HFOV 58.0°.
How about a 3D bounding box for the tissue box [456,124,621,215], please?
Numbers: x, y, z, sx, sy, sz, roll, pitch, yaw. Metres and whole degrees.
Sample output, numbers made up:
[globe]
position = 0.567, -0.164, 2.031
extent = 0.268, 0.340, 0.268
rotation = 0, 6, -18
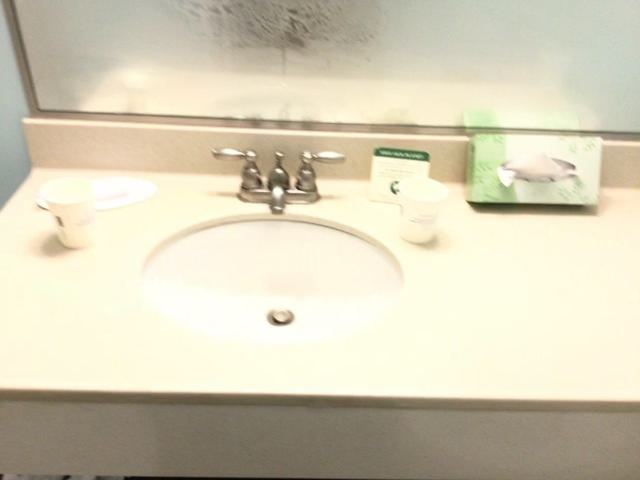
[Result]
[tissue box]
position = 0.390, -0.130, 1.060
extent = 0.240, 0.120, 0.110
rotation = 2, 34, -2

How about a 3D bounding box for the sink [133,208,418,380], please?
[sink]
position = -0.070, 0.090, 0.990
extent = 0.420, 0.200, 0.200
rotation = 2, 34, -2

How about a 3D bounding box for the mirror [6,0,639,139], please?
[mirror]
position = 0.070, -0.380, 0.950
extent = 1.140, 0.400, 0.030
rotation = 2, 34, -2
